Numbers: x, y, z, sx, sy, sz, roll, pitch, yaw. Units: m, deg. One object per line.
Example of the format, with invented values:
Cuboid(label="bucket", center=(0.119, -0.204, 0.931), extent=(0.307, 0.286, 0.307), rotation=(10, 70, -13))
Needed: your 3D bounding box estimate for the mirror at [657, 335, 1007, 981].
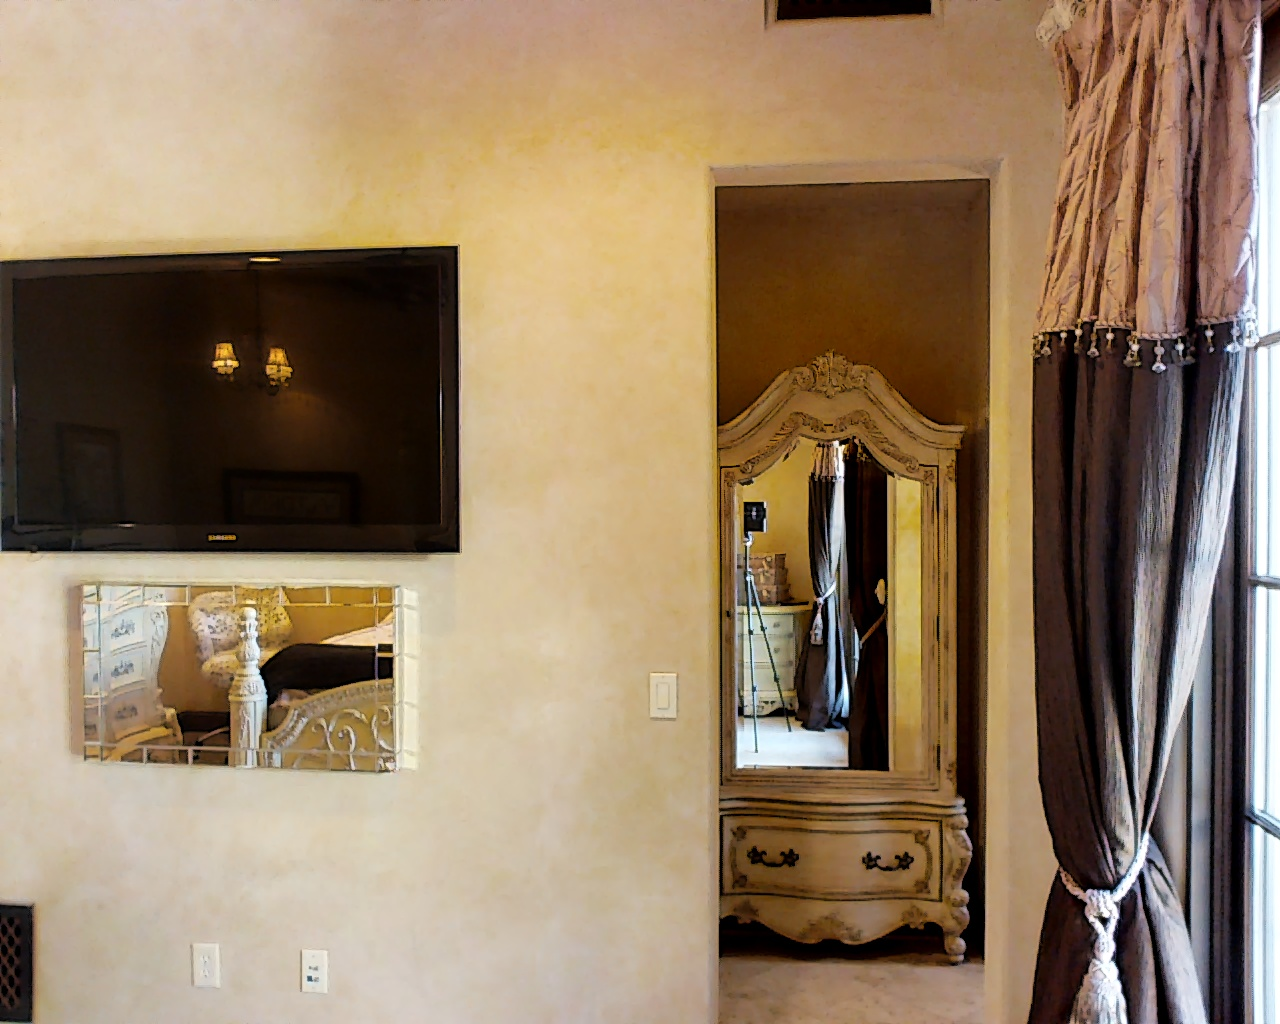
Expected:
Cuboid(label="mirror", center=(0.670, 0.480, 3.970), extent=(1.150, 2.140, 0.760), rotation=(0, 1, 6))
